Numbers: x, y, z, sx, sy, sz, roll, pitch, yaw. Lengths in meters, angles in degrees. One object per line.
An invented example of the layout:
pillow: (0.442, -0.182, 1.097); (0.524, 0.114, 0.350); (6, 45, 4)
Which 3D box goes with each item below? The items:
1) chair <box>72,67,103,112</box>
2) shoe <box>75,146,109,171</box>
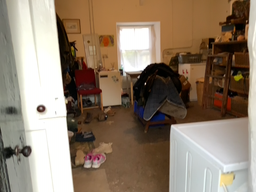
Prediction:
chair: (-0.900, -0.170, 4.720); (0.490, 0.890, 0.550); (-8, 13, -23)
shoe: (-0.420, 0.750, 2.590); (0.300, 0.110, 0.410); (-1, 12, 8)
